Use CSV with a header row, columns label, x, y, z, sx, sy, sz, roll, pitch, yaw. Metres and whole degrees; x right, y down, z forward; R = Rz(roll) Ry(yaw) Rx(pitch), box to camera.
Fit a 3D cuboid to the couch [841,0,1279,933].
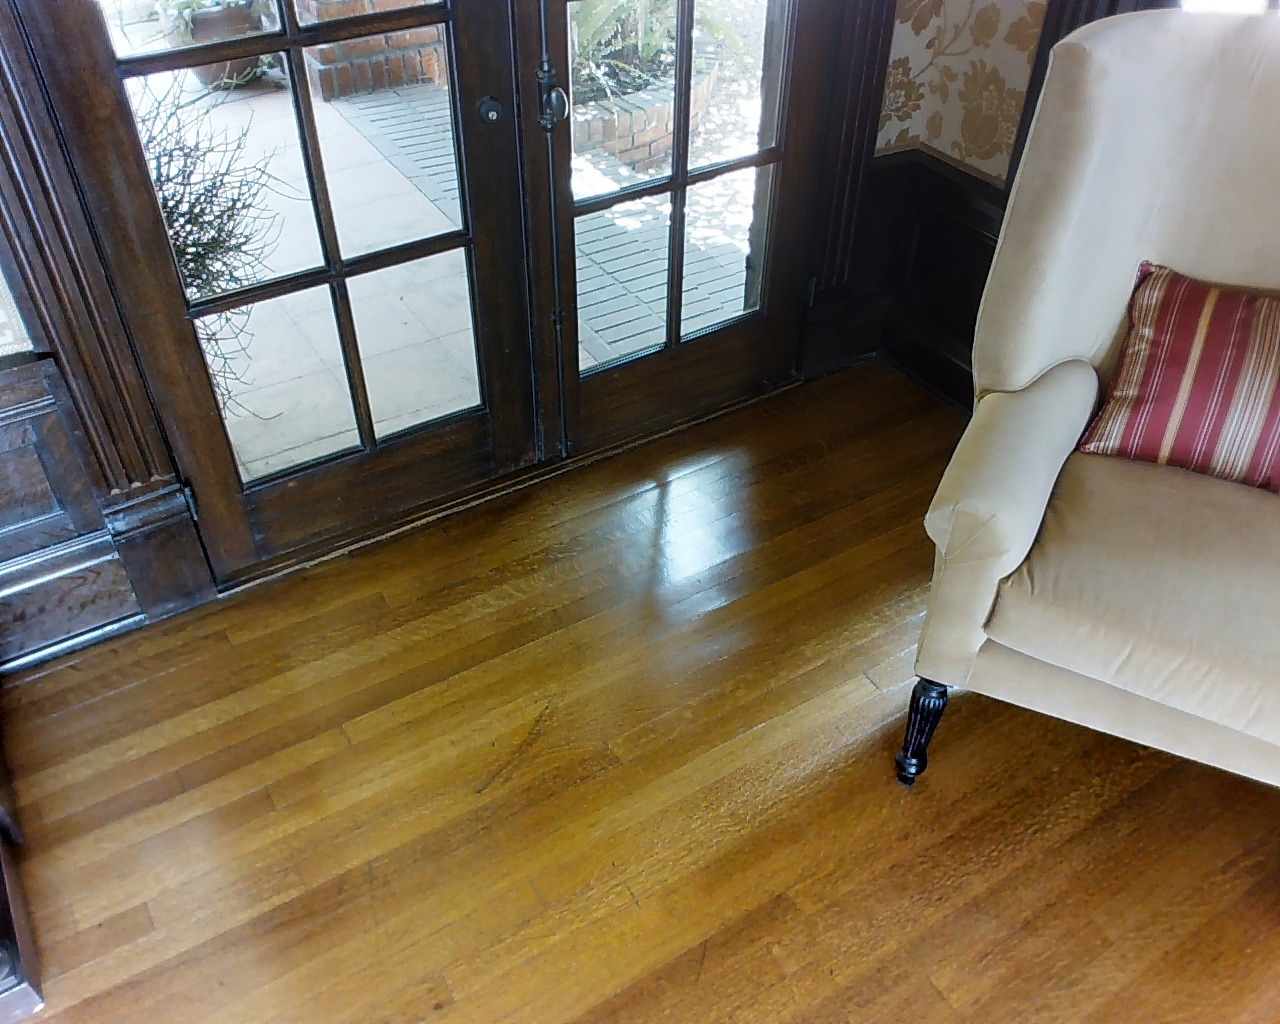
label,x,y,z,sx,sy,sz,roll,pitch,yaw
couch,0.910,-0.070,1.630,0.900,1.140,0.770,15,43,16
